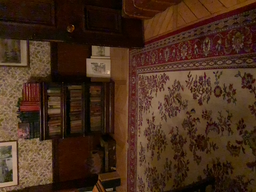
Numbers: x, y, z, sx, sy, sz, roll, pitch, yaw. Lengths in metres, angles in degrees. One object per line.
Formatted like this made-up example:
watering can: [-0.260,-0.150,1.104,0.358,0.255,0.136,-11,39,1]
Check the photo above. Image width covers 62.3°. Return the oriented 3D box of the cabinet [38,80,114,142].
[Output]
cabinet: [-0.820,0.200,3.400,0.360,1.110,0.880,-166,76,-68]

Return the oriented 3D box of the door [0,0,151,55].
door: [-0.860,-1.050,1.990,0.160,2.260,1.180,168,100,-68]
